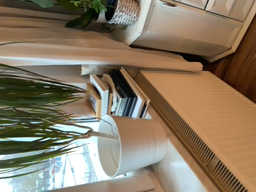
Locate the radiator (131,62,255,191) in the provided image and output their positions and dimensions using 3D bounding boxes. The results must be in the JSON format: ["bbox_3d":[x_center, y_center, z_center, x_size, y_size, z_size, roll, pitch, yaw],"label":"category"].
[{"bbox_3d":[0.610,0.220,0.960,1.310,0.720,0.130,54,134,48],"label":"radiator"}]
